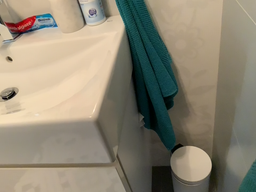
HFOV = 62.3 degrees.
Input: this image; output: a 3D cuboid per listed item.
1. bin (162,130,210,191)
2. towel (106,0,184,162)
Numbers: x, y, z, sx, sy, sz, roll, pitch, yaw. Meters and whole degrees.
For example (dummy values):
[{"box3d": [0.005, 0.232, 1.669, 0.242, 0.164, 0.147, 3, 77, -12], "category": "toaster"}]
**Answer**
[{"box3d": [0.270, 0.340, 1.000, 0.180, 0.280, 0.230, -2, 41, 14], "category": "bin"}, {"box3d": [0.090, -0.050, 0.670, 0.140, 0.640, 0.190, -4, 41, 12], "category": "towel"}]
